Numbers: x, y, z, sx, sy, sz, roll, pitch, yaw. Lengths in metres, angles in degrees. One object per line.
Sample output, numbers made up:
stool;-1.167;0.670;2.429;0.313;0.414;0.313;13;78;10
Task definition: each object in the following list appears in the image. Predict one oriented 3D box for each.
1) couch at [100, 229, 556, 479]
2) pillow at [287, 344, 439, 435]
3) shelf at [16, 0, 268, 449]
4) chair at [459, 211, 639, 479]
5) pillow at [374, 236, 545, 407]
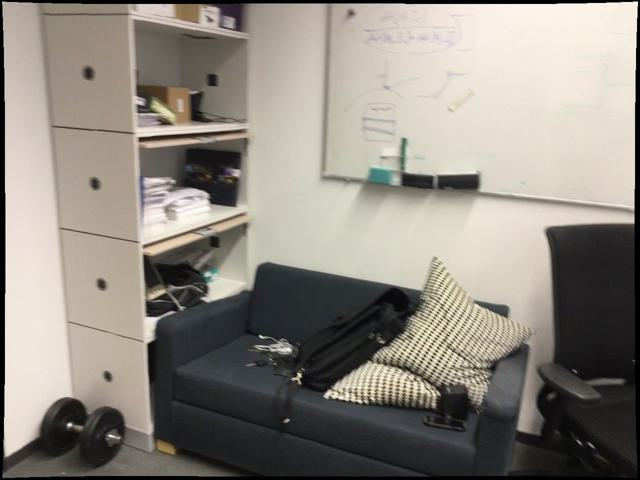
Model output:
couch;0.040;0.521;2.370;1.589;0.751;0.820;9;18;23
pillow;0.150;0.521;2.060;0.500;0.120;0.200;9;18;23
shelf;-0.669;-0.350;2.500;0.490;2.162;0.920;9;18;23
chair;1.019;0.470;1.890;0.729;0.951;0.730;-5;18;-21
pillow;0.549;0.270;2.220;0.510;0.380;0.550;9;18;23
